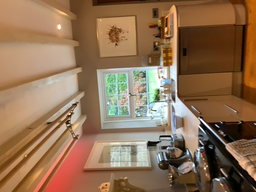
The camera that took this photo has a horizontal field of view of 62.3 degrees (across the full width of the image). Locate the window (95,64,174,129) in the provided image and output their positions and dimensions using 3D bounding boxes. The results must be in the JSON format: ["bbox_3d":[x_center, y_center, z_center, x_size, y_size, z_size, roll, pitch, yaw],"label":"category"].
[{"bbox_3d":[0.130,0.010,3.830,0.300,1.320,1.070,-84,-9,-74],"label":"window"}]
